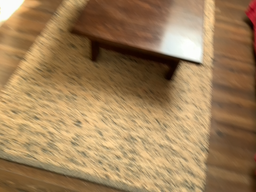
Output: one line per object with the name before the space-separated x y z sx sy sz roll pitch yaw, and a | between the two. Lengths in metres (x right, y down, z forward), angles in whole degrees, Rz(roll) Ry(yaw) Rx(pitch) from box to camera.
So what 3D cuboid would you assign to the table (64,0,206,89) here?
table | 0.100 -0.590 1.600 0.830 0.360 0.830 15 58 1
